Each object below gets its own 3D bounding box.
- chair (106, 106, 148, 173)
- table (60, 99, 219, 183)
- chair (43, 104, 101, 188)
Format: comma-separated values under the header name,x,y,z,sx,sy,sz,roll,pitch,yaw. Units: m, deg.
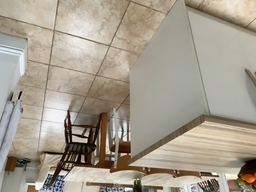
name,x,y,z,sx,sy,sz,roll,pitch,yaw
chair,-0.030,0.590,2.830,0.360,0.720,0.490,11,148,-19
table,0.120,0.780,3.150,1.950,0.740,1.050,11,148,-19
chair,-0.700,0.650,2.730,0.550,0.910,0.450,11,148,-19
